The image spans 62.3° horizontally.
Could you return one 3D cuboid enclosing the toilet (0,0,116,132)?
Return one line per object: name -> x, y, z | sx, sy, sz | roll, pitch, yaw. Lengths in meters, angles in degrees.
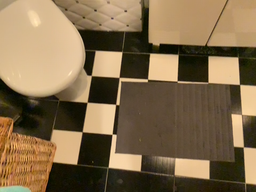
toilet -> -0.440, -0.270, 0.910 | 0.370, 0.760, 0.650 | -38, 74, -8
